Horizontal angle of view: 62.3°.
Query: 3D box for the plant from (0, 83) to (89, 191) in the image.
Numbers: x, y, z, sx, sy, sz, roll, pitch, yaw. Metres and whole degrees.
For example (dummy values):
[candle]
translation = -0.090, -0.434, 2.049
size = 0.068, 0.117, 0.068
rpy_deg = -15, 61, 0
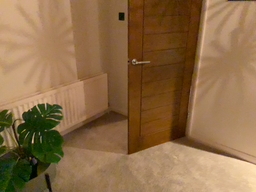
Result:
[plant]
translation = -0.830, 0.410, 1.690
size = 0.780, 0.730, 0.620
rpy_deg = 18, 29, 36
